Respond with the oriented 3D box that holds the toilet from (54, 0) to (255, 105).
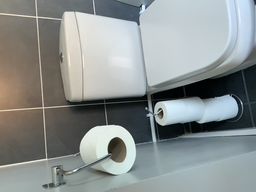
[{"bbox_3d":[0.170,-0.230,0.900,0.710,0.810,0.390,-21,74,62],"label":"toilet"}]
